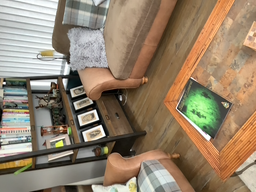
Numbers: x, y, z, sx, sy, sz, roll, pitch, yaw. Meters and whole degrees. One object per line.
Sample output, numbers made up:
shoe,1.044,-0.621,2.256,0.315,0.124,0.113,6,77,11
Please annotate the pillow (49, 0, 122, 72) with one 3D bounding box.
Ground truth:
pillow,-0.370,-0.960,1.940,0.540,0.450,1.370,59,137,42

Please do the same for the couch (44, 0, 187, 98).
couch,-0.080,-1.170,1.900,1.040,0.910,2.280,61,139,40

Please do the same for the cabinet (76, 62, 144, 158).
cabinet,-0.310,0.120,2.830,1.260,0.380,0.510,59,137,42
